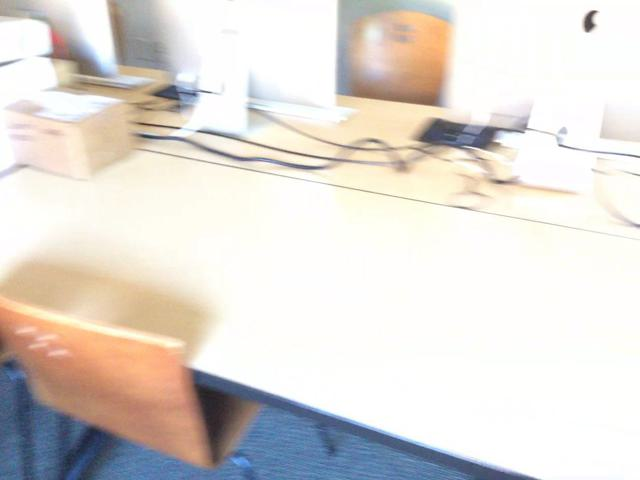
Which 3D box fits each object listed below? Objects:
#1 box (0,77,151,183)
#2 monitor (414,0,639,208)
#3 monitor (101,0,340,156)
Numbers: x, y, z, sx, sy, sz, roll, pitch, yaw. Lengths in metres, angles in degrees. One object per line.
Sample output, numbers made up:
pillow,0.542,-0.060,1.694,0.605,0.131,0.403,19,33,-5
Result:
box,-0.590,-0.270,1.380,0.260,0.140,0.220,13,37,19
monitor,0.490,-0.340,1.190,0.520,0.440,0.190,13,37,18
monitor,-0.240,-0.500,1.440,0.540,0.450,0.200,13,37,18
